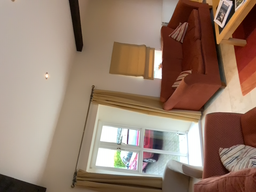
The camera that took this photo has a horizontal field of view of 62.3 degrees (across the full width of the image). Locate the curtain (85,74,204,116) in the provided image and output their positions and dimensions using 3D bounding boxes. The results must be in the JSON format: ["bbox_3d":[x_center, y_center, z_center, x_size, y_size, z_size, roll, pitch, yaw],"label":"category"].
[{"bbox_3d":[0.340,-0.010,4.350,0.320,2.340,0.460,105,173,-63],"label":"curtain"}]

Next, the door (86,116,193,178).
[{"bbox_3d":[0.300,1.110,4.710,0.090,2.250,1.100,104,173,-62],"label":"door"}]
